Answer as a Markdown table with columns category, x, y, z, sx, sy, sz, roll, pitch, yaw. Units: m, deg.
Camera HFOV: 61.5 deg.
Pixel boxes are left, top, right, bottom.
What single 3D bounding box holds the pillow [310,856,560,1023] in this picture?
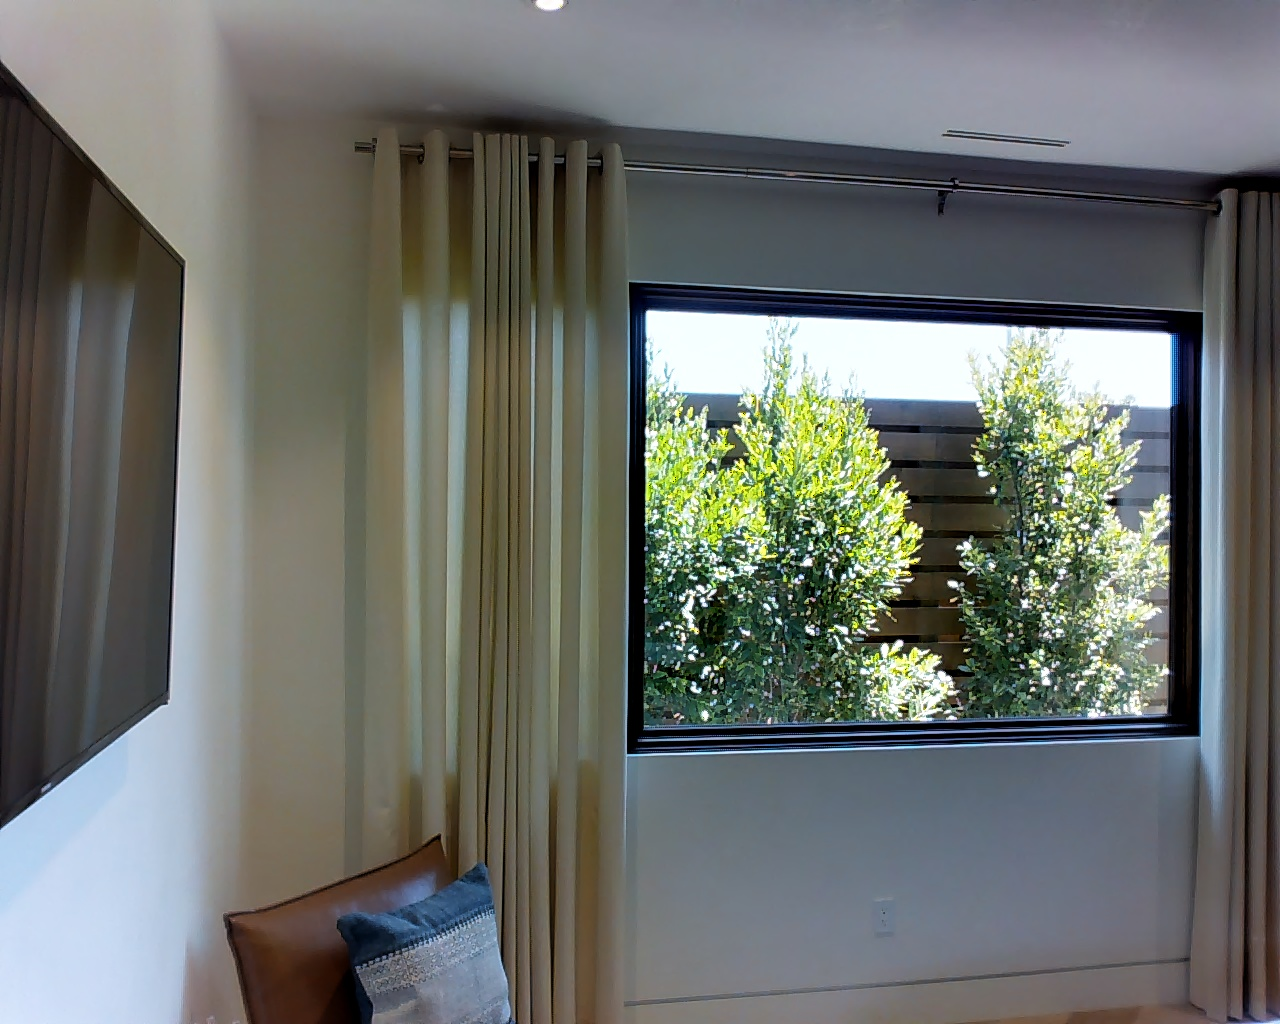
| category | x | y | z | sx | sy | sz | roll | pitch | yaw |
| --- | --- | --- | --- | --- | --- | --- | --- | --- | --- |
| pillow | -0.470 | 1.090 | 2.560 | 0.280 | 0.450 | 0.550 | -9 | -13 | 32 |

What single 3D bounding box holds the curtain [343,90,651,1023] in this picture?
| category | x | y | z | sx | sy | sz | roll | pitch | yaw |
| --- | --- | --- | --- | --- | --- | --- | --- | --- | --- |
| curtain | -0.410 | 0.240 | 3.130 | 0.840 | 2.810 | 0.150 | 1 | 0 | -10 |

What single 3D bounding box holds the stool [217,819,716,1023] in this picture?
| category | x | y | z | sx | sy | sz | roll | pitch | yaw |
| --- | --- | --- | --- | --- | --- | --- | --- | --- | --- |
| stool | -0.380 | 1.250 | 2.530 | 0.820 | 0.730 | 0.820 | 1 | 0 | 32 |
